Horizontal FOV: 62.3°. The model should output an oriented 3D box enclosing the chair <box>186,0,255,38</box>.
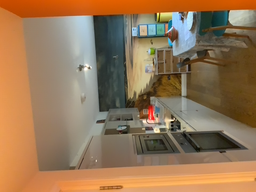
[{"bbox_3d":[1.210,-1.020,2.660,0.480,0.800,0.440,-128,35,-87],"label":"chair"}]
